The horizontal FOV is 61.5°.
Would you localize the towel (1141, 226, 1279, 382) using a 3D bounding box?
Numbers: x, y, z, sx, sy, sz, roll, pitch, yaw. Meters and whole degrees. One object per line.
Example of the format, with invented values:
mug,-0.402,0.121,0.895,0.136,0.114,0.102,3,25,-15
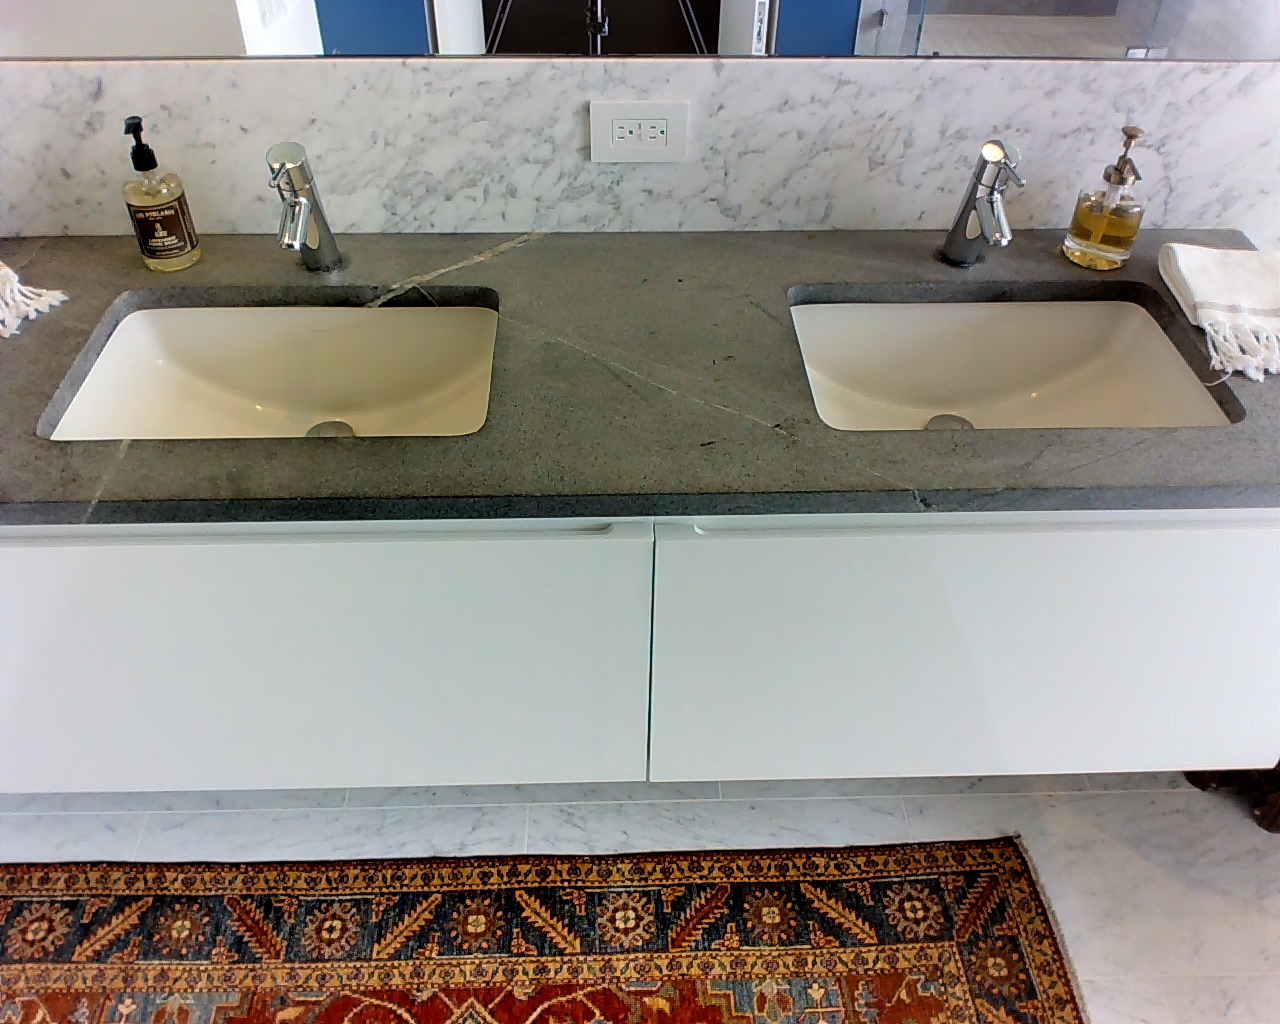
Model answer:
towel,0.740,-0.250,1.260,0.190,0.040,0.280,0,42,-2
